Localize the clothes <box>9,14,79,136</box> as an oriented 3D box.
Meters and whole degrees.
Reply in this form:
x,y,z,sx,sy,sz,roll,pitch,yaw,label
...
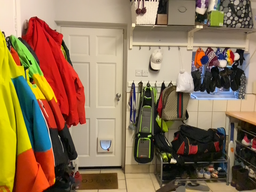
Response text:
x,y,z,sx,sy,sz,roll,pitch,yaw,label
-0.650,-0.160,1.760,0.410,0.890,0.410,1,7,-3,clothes

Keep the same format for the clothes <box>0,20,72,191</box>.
x,y,z,sx,sy,sz,roll,pitch,yaw,label
-0.610,0.110,1.410,0.370,1.090,0.410,1,7,-3,clothes

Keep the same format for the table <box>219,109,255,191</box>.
x,y,z,sx,sy,sz,roll,pitch,yaw,label
1.610,0.680,2.460,0.610,0.900,0.900,1,7,-5,table

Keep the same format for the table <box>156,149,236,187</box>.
x,y,z,sx,sy,sz,roll,pitch,yaw,label
0.850,0.910,2.740,0.920,0.350,0.320,1,7,-4,table

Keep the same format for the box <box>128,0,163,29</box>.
x,y,z,sx,sy,sz,roll,pitch,yaw,label
0.190,-1.050,2.530,0.370,0.390,0.490,1,7,-1,box

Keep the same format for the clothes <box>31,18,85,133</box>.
x,y,z,sx,sy,sz,roll,pitch,yaw,label
-0.670,-0.190,2.110,0.420,1.050,0.320,1,7,-3,clothes
